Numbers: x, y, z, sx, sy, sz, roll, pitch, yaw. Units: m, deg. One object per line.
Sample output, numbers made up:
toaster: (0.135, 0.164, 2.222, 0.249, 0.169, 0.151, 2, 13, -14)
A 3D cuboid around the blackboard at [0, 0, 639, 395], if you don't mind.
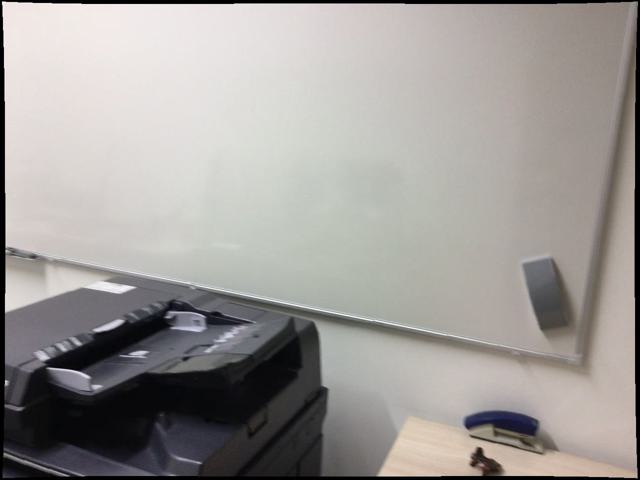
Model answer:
blackboard: (-0.400, -0.390, 1.380, 2.078, 1.101, 0.060, 9, 15, 19)
